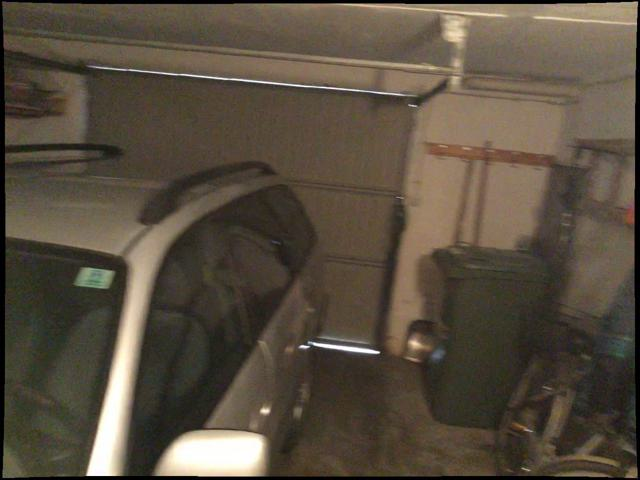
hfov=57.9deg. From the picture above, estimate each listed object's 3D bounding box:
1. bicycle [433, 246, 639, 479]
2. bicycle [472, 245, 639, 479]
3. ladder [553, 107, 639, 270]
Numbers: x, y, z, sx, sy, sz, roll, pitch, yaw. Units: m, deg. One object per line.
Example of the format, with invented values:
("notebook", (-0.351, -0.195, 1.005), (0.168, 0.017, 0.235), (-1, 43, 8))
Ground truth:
("bicycle", (0.939, 0.821, 2.360), (0.579, 1.131, 1.740), (8, 14, 3))
("bicycle", (0.999, 0.771, 2.190), (0.510, 1.131, 1.450), (10, 14, 8))
("ladder", (1.439, -0.260, 2.720), (0.110, 0.470, 1.640), (9, 22, 3))
